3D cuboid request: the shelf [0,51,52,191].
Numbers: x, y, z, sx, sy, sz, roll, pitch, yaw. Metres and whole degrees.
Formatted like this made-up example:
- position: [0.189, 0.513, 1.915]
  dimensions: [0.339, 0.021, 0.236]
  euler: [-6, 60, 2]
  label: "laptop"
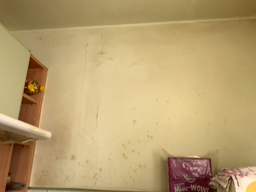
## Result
- position: [-0.650, 0.130, 1.160]
  dimensions: [0.300, 0.740, 0.170]
  euler: [-1, -18, 6]
  label: "shelf"
